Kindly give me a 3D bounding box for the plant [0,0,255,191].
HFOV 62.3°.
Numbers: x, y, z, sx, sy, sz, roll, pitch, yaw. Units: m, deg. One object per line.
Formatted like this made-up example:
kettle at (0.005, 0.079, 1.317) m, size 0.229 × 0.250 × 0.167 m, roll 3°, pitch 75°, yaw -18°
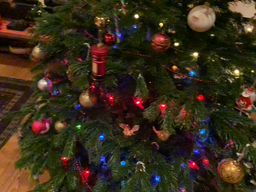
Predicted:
plant at (0.070, 0.020, 1.080) m, size 1.610 × 2.000 × 1.280 m, roll 9°, pitch 38°, yaw 0°
